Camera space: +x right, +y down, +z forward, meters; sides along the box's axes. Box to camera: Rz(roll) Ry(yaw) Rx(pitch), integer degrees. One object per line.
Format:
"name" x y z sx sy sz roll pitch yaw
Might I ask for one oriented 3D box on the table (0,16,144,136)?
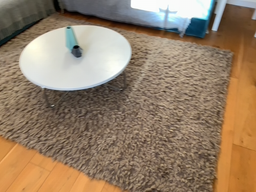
"table" -0.460 -0.260 1.930 0.920 0.400 0.910 18 48 15
